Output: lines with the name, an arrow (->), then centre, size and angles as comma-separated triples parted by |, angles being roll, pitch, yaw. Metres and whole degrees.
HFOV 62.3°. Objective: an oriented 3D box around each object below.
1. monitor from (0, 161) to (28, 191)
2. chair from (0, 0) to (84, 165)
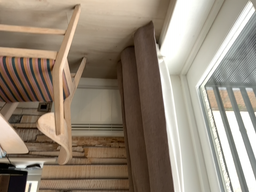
monitor -> -0.940, 0.580, 1.490 | 0.380, 0.240, 0.040 | 9, 149, 0
chair -> -0.600, -0.080, 1.290 | 0.550, 0.840, 0.530 | 2, 148, -6
